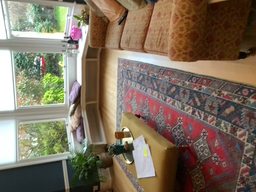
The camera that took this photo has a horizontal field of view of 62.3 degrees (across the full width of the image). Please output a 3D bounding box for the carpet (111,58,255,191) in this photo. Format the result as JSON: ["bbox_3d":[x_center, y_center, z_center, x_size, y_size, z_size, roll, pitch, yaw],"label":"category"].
[{"bbox_3d":[0.320,0.600,2.560,2.750,0.010,1.860,-150,61,-61],"label":"carpet"}]

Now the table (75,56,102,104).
[{"bbox_3d":[-0.870,-0.360,4.570,0.450,0.460,0.960,-151,62,-61],"label":"table"}]

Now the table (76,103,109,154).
[{"bbox_3d":[-0.780,0.670,4.500,0.470,0.460,0.920,127,134,-54],"label":"table"}]

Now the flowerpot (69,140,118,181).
[{"bbox_3d":[-0.690,1.240,4.090,0.690,0.740,0.430,119,140,-48],"label":"flowerpot"}]

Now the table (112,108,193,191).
[{"bbox_3d":[0.190,0.630,2.480,1.120,0.350,0.650,-149,60,-61],"label":"table"}]
